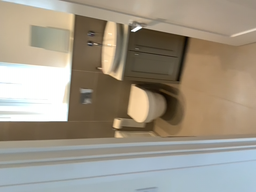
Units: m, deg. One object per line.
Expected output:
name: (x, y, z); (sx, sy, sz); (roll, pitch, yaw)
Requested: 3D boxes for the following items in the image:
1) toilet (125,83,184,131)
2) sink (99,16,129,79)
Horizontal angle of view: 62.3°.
toilet: (0.290, 0.120, 2.510); (0.510, 0.430, 0.420); (-148, 63, -64)
sink: (-0.160, -0.500, 2.220); (0.370, 0.130, 0.580); (-148, 63, -64)
